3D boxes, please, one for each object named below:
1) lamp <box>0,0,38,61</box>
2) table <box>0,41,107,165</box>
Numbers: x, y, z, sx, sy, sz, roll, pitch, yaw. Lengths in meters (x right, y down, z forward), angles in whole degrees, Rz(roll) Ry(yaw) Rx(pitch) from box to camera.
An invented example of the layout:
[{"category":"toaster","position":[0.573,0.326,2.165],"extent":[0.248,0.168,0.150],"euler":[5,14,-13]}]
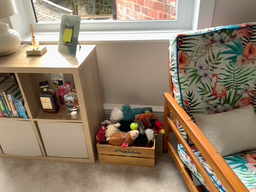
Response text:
[{"category":"lamp","position":[-0.870,-0.500,1.380],"extent":[0.330,0.450,0.300],"euler":[3,32,9]},{"category":"table","position":[-0.660,0.030,1.620],"extent":[0.830,0.750,0.510],"euler":[3,32,9]}]
